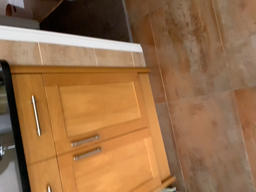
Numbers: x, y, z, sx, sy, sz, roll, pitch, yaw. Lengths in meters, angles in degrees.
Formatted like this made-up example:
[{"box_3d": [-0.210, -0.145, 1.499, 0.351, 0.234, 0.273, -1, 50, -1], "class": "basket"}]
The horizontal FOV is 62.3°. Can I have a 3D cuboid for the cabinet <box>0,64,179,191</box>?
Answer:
[{"box_3d": [-0.180, 0.300, 1.280, 0.330, 0.980, 0.900, -16, 84, 42], "class": "cabinet"}]
